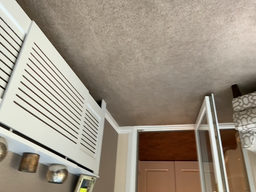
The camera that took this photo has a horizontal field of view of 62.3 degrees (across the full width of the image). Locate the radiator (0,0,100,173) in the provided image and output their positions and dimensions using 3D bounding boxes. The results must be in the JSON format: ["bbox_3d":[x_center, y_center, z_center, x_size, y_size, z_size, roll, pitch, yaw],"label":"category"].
[{"bbox_3d":[-0.550,0.000,1.420,0.120,0.710,1.680,-4,151,12],"label":"radiator"}]
